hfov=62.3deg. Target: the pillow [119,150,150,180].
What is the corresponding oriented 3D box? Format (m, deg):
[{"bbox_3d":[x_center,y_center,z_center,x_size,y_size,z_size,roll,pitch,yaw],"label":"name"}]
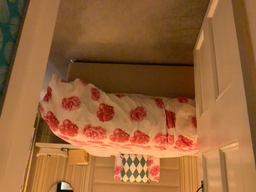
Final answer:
[{"bbox_3d":[0.090,0.980,3.020,0.410,0.370,0.260,3,161,0],"label":"pillow"}]
